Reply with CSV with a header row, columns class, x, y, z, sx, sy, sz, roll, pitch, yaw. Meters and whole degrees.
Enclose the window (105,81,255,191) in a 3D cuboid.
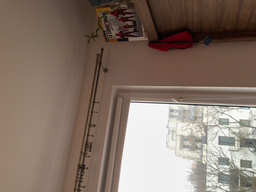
class,x,y,z,sx,sy,sz,roll,pitch,yaw
window,0.830,0.510,1.360,0.220,1.960,1.210,48,-134,-64
